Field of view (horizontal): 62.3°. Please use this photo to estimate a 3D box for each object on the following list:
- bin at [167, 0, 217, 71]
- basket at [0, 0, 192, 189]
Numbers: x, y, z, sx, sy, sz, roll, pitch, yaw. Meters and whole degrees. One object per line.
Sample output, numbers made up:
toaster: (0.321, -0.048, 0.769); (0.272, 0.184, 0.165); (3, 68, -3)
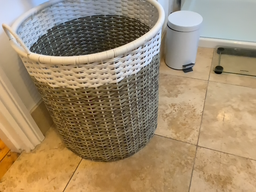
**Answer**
bin: (0.330, -0.320, 1.120); (0.200, 0.290, 0.190); (11, 47, 16)
basket: (-0.080, -0.070, 0.790); (0.500, 0.480, 0.500); (11, 47, 17)
